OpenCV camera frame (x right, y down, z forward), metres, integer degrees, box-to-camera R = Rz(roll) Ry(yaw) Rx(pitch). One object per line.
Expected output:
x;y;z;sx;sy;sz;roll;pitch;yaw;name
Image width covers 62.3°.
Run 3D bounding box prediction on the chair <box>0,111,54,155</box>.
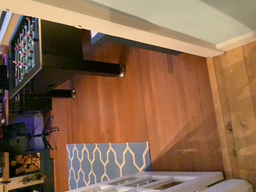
-2.070;0.610;3.700;0.690;1.310;0.640;-4;86;51;chair
